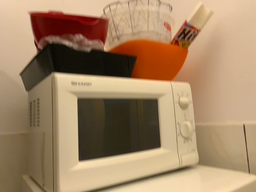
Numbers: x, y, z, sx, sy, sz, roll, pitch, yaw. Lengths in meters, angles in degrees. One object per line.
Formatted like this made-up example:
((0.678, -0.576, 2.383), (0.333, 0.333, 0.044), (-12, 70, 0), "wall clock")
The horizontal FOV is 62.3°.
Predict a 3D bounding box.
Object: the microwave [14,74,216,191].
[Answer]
((-0.070, 0.130, 0.770), (0.530, 0.270, 0.500), (2, -9, -37), "microwave")
